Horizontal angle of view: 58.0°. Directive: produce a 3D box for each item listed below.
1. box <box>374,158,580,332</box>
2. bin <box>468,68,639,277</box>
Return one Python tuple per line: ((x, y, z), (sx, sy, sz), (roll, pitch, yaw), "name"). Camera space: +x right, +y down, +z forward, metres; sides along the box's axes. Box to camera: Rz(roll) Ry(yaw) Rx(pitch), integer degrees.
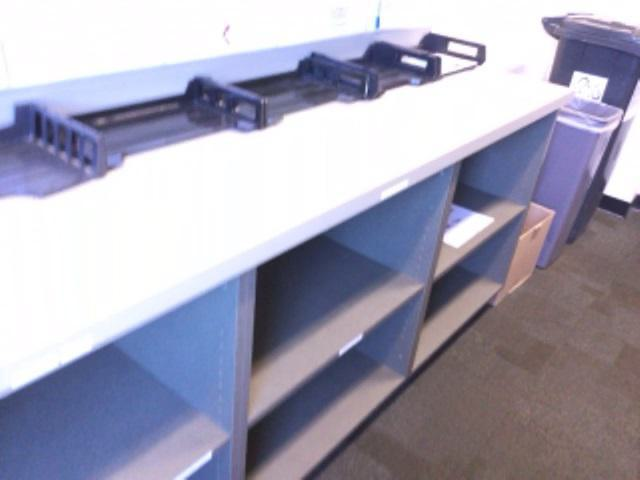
((0.670, -0.020, 2.490), (0.590, 0.380, 0.620), (23, 35, 33), "box")
((1.080, -0.330, 2.670), (0.540, 0.770, 0.390), (23, 35, 33), "bin")
